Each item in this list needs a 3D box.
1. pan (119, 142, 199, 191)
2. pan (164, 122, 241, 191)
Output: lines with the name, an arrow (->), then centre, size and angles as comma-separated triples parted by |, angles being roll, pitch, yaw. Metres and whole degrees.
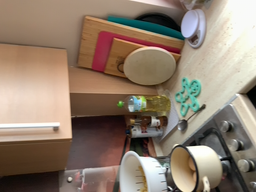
pan -> 0.110, 0.360, 0.910 | 0.280, 0.200, 0.210 | 116, 148, -48
pan -> 0.250, 0.220, 0.760 | 0.150, 0.140, 0.200 | 116, 148, -48
